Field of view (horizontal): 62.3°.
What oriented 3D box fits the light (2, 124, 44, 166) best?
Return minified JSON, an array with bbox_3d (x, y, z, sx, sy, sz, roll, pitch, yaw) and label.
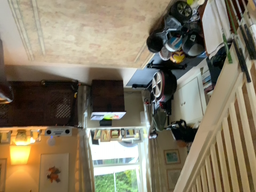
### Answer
[{"bbox_3d":[-1.780,0.840,3.650,0.540,0.640,0.290,-2,164,-7],"label":"light"}]
